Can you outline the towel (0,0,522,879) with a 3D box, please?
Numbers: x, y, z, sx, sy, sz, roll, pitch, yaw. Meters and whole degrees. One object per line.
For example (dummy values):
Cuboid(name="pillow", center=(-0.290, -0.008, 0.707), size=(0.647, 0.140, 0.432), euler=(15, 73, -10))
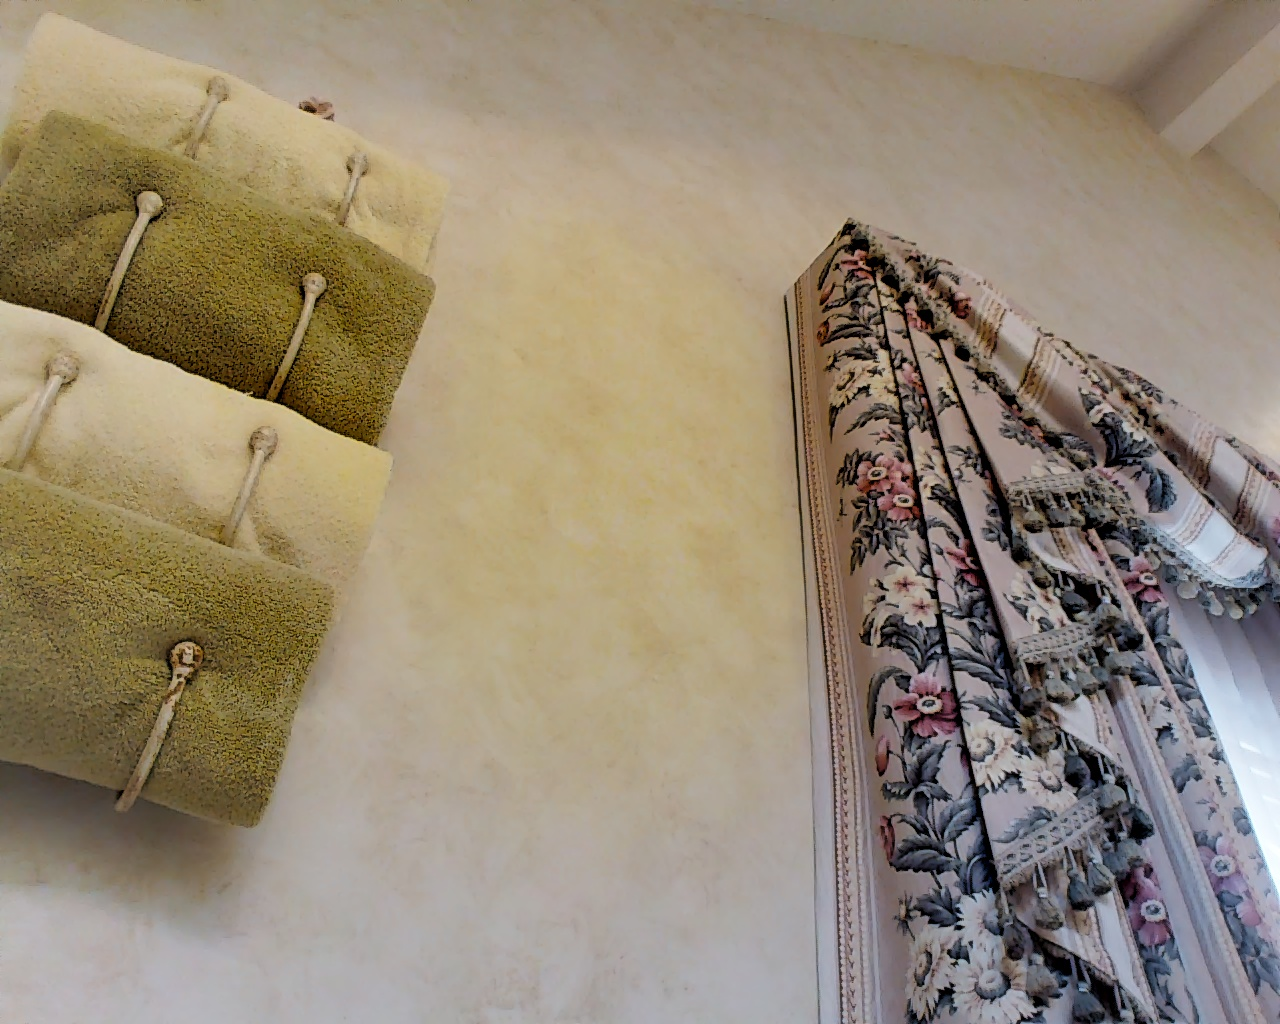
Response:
Cuboid(name="towel", center=(-0.350, -0.120, 0.850), size=(0.430, 0.690, 0.150), euler=(23, -46, -22))
